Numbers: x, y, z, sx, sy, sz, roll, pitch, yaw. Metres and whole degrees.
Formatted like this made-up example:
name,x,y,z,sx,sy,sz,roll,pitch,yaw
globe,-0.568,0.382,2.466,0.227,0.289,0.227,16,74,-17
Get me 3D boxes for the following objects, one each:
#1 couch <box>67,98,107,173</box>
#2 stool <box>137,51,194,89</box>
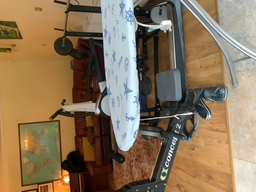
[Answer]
name,x,y,z,sx,sy,sz,roll,pitch,yaw
couch,-1.070,0.900,5.310,1.090,0.740,1.590,170,97,-70
stool,0.310,-0.210,1.820,0.330,0.350,0.280,-175,82,-70
